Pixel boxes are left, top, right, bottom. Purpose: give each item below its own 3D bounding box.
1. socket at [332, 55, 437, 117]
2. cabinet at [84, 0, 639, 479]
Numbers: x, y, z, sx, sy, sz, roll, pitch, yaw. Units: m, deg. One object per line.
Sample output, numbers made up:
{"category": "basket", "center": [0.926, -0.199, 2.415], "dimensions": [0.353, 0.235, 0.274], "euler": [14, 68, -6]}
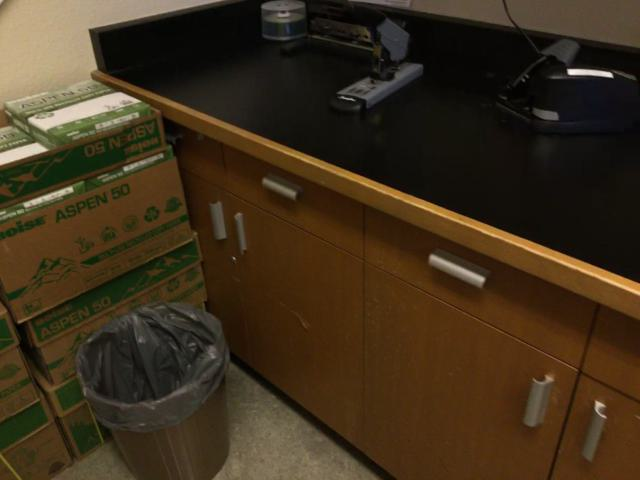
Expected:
{"category": "socket", "center": [0.150, -0.350, 1.290], "dimensions": [0.090, 0.050, 0.300], "euler": [20, 37, 31]}
{"category": "cabinet", "center": [0.860, 0.380, 0.790], "dimensions": [0.660, 0.990, 3.430], "euler": [-27, 40, -36]}
